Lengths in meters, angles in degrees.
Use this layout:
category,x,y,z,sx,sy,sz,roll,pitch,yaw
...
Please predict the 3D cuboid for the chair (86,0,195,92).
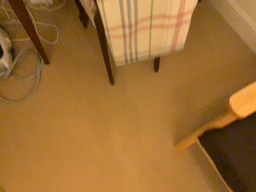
category,x,y,z,sx,sy,sz,roll,pitch,yaw
chair,0.010,-0.420,0.940,0.340,0.860,0.410,-16,69,-9
